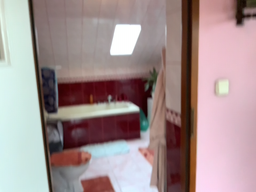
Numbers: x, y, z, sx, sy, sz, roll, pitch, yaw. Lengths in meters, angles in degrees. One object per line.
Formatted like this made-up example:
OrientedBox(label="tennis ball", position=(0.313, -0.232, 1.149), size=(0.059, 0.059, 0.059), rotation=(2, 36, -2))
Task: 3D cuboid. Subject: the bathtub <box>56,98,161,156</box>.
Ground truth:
OrientedBox(label="bathtub", position=(-0.380, 0.510, 4.010), size=(1.800, 0.660, 0.790), rotation=(-5, 11, -17))
